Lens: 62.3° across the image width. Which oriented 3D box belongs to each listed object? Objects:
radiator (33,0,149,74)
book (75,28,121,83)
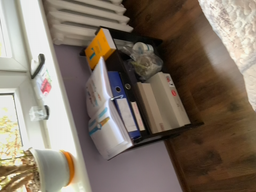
[{"bbox_3d":[-0.230,-0.460,1.350,0.200,0.600,0.590,-34,68,42],"label":"radiator"},{"bbox_3d":[-0.170,-0.210,1.160,0.220,0.100,0.200,-34,68,42],"label":"book"}]
